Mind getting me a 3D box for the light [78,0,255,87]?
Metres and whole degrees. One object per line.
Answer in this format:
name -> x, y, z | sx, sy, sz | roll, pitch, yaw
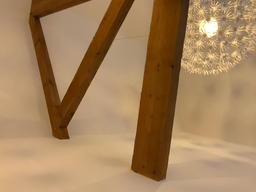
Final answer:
light -> 0.400, -0.730, 2.450 | 1.840, 0.970, 1.060 | -2, 85, 41
